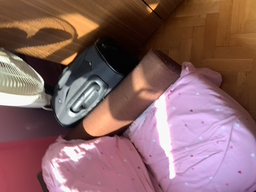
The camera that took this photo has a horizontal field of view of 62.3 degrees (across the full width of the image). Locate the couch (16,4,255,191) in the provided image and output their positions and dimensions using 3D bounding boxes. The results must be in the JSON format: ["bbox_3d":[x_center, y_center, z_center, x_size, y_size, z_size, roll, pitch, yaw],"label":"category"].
[{"bbox_3d":[0.150,0.290,0.910,0.840,0.650,0.690,-44,65,21],"label":"couch"}]
